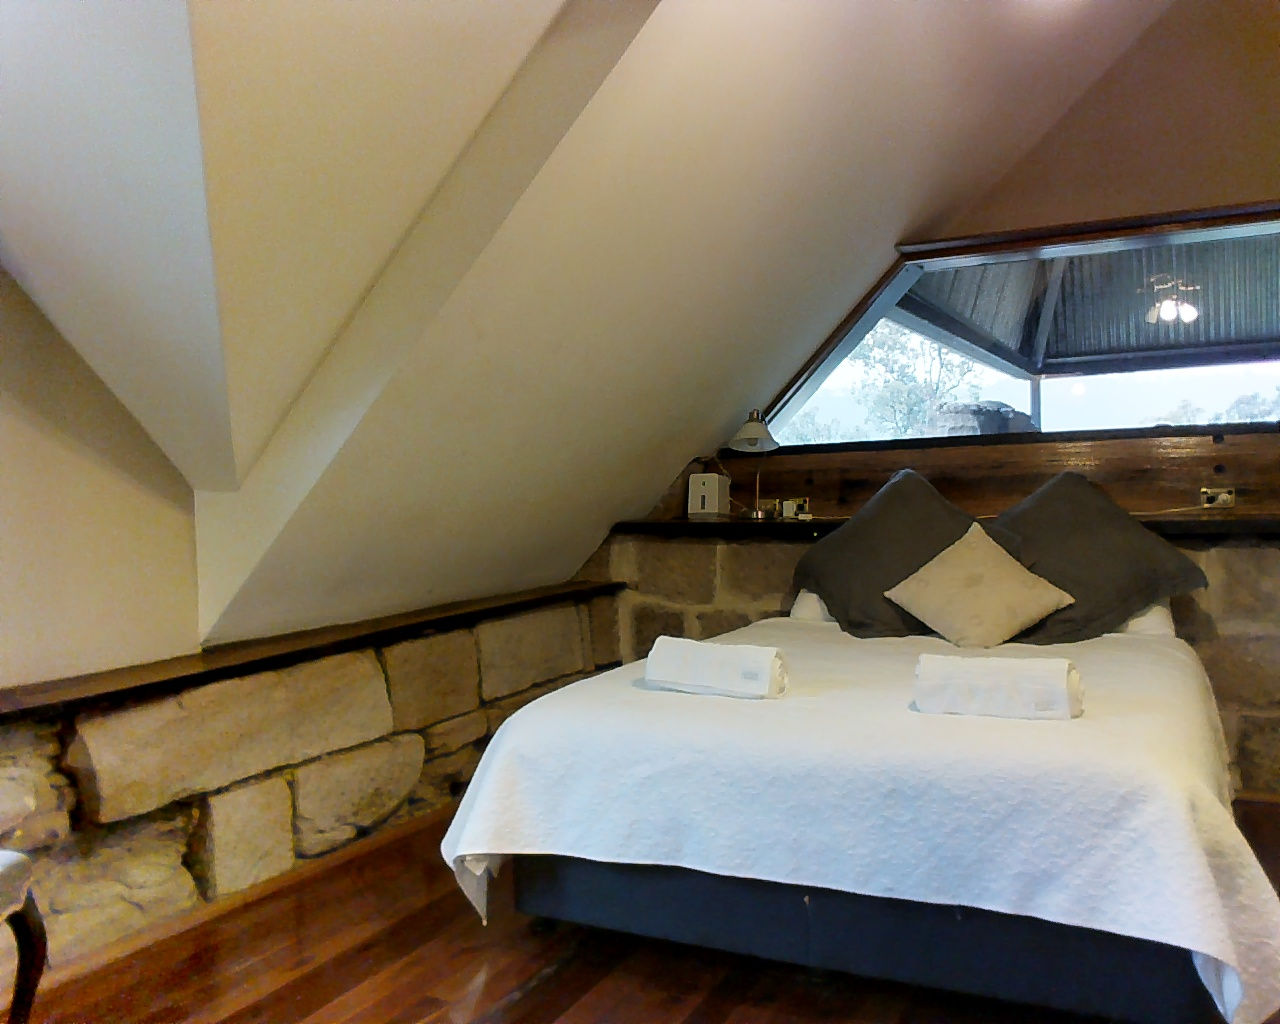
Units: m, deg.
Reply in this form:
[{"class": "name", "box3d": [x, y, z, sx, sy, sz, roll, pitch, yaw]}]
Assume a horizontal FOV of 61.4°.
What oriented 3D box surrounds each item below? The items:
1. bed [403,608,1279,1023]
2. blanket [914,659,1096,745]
[{"class": "bed", "box3d": [0.780, 0.740, 3.120, 1.819, 0.610, 2.260, 0, 2, 28]}, {"class": "blanket", "box3d": [0.820, 0.420, 2.420, 0.360, 0.130, 0.190, 0, 2, 28]}]
